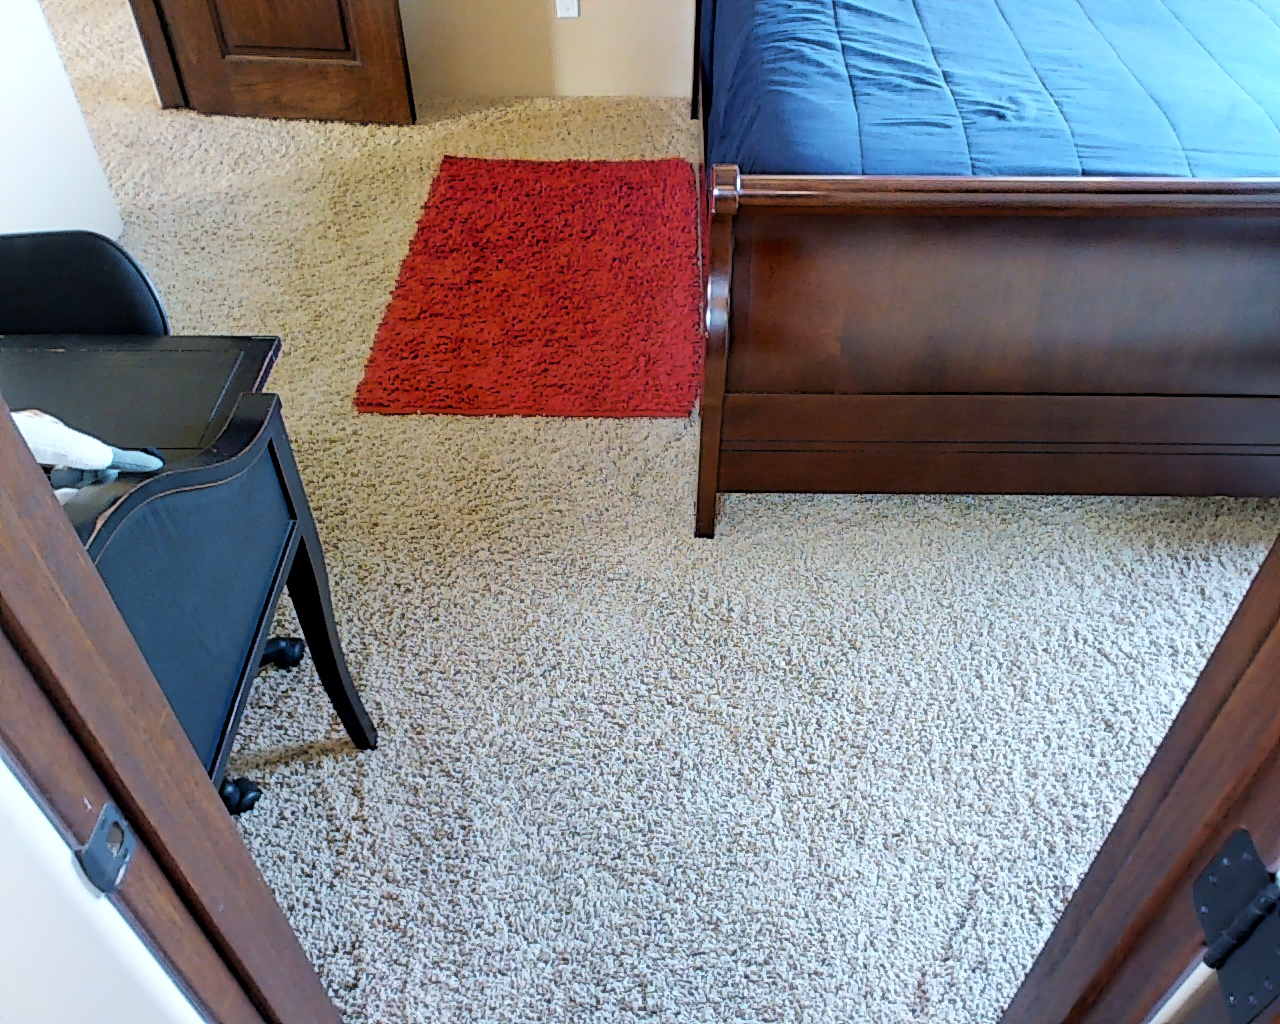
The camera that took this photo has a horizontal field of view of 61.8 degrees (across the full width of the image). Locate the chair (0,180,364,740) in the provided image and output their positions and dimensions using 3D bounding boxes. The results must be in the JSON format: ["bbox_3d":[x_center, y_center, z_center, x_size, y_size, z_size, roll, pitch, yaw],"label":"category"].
[{"bbox_3d":[-0.840,-0.050,1.680,0.570,0.780,0.440,0,45,2],"label":"chair"}]
